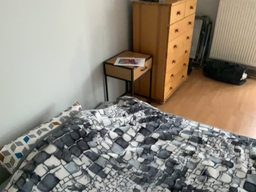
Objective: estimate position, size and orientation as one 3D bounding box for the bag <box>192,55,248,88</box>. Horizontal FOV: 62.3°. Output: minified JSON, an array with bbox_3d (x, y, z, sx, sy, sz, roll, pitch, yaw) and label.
[{"bbox_3d":[1.350,-0.380,3.140,0.660,0.220,0.410,19,36,29],"label":"bag"}]

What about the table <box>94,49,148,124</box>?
[{"bbox_3d":[-0.060,-0.120,2.360,0.370,0.630,0.450,17,35,27],"label":"table"}]

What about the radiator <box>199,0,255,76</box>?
[{"bbox_3d":[1.570,-0.900,3.050,0.850,1.080,0.200,18,36,28],"label":"radiator"}]
